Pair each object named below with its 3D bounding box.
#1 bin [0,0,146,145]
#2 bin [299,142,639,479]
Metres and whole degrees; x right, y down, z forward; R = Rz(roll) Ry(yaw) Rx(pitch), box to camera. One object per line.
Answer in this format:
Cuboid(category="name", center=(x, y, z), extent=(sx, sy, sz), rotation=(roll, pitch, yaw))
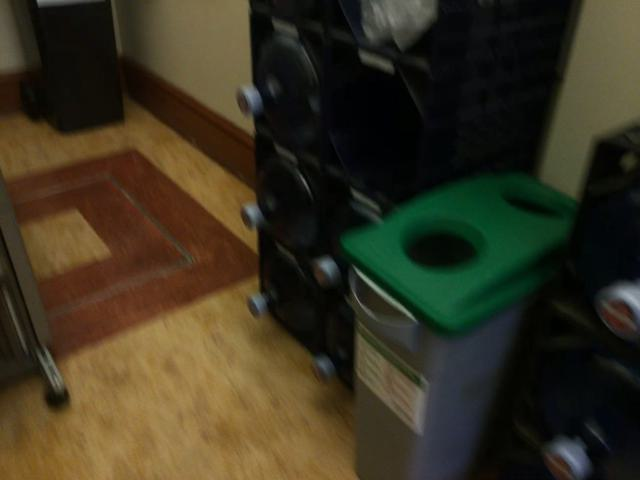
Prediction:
Cuboid(category="bin", center=(-1.190, -1.050, 2.670), extent=(0.470, 1.030, 0.490), rotation=(-21, 39, -33))
Cuboid(category="bin", center=(0.300, 0.220, 1.230), extent=(0.600, 0.670, 0.320), rotation=(-21, 39, -33))
